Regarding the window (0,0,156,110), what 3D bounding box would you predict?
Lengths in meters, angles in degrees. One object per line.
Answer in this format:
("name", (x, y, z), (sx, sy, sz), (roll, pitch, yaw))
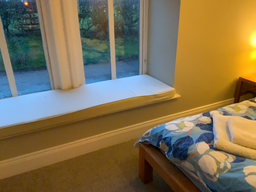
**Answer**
("window", (-0.630, -0.810, 2.000), (1.940, 1.720, 0.230), (-10, 26, -22))
